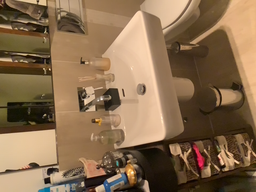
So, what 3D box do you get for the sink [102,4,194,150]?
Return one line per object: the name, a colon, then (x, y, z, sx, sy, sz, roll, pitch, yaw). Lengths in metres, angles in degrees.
sink: (0.050, -0.050, 1.120, 0.500, 0.130, 0.610, -30, 65, 57)
